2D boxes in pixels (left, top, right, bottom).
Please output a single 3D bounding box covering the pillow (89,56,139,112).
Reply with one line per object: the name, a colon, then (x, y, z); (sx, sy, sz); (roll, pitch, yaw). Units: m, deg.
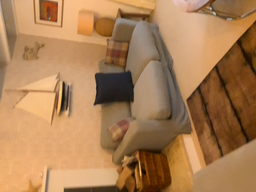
pillow: (-0.210, -0.160, 3.000); (0.300, 0.590, 0.550); (46, -150, -48)
